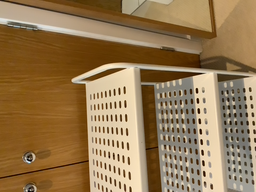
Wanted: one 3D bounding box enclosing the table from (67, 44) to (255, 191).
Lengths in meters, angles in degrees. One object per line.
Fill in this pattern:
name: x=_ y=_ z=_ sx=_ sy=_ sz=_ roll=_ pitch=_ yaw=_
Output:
table: x=0.240 y=0.190 z=0.920 sx=0.360 sy=0.870 sz=0.620 roll=-12 pitch=81 yaw=55
